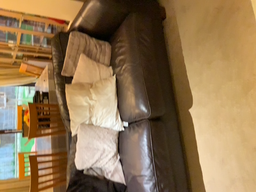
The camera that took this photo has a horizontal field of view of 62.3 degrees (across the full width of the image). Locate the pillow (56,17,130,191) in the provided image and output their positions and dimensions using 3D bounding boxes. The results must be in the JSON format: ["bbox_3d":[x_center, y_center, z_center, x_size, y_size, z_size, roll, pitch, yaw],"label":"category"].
[{"bbox_3d":[-0.350,0.070,1.820,0.550,0.310,1.280,-27,67,54],"label":"pillow"}]

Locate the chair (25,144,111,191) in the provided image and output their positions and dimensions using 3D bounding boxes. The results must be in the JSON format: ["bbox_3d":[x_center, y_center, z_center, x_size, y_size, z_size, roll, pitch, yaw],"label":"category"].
[{"bbox_3d":[-0.790,0.920,2.790,0.550,0.960,0.440,-21,73,56],"label":"chair"}]

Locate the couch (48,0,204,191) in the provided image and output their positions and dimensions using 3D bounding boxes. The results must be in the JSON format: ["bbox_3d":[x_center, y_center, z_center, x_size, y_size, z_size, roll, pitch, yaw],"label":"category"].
[{"bbox_3d":[-0.110,0.260,1.840,0.990,0.810,2.160,-23,71,55],"label":"couch"}]
